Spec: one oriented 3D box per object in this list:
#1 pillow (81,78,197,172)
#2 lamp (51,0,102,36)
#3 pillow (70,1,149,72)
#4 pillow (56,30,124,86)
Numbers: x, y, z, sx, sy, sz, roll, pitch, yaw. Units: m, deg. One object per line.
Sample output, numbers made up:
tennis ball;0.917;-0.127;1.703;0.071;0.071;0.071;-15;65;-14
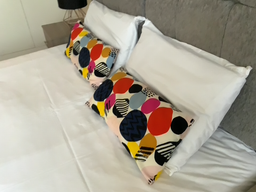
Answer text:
pillow;0.000;0.080;0.910;0.130;0.260;0.540;-47;25;-11
lamp;-0.450;-0.780;1.820;0.340;0.390;0.260;-19;40;-21
pillow;-0.150;-0.390;1.360;0.140;0.330;0.630;-36;31;-13
pillow;-0.270;-0.270;1.370;0.130;0.270;0.570;-40;30;-13
